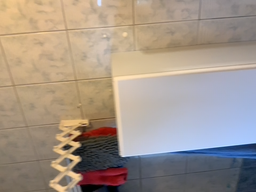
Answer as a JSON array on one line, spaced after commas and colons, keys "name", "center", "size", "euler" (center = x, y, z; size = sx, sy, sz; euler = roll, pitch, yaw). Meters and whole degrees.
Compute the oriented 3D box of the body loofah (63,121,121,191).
[{"name": "body loofah", "center": [-0.150, 0.280, 0.960], "size": [0.170, 0.210, 0.260], "euler": [-102, 8, -65]}]
